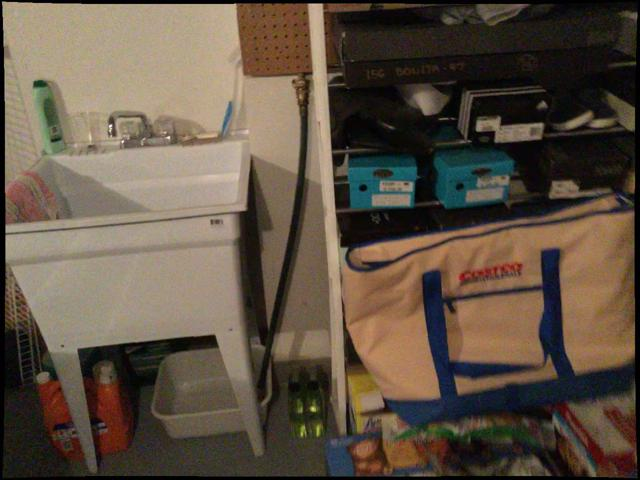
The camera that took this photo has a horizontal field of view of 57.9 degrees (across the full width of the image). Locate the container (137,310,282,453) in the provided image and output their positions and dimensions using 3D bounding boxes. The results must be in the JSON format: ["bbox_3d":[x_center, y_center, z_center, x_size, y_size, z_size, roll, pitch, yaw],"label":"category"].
[{"bbox_3d":[-0.340,0.440,1.880,0.400,0.160,0.430,-6,30,-3],"label":"container"}]

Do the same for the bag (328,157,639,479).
[{"bbox_3d":[0.400,0.170,1.360,0.689,0.540,0.440,-6,30,-3],"label":"bag"}]
